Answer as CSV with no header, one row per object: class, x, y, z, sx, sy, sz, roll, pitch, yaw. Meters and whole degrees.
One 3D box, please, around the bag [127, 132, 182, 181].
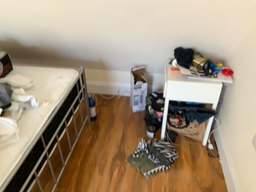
bag,0.200,0.450,1.640,0.340,0.070,0.250,-24,43,-30
